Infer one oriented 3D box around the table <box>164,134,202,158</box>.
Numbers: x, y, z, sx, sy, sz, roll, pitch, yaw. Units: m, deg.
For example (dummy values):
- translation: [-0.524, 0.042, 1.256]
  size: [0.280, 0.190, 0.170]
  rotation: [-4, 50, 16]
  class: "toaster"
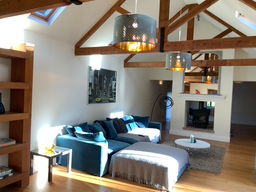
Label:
- translation: [1.550, 1.350, 5.870]
  size: [0.830, 0.360, 0.850]
  rotation: [4, 3, 27]
  class: "table"
